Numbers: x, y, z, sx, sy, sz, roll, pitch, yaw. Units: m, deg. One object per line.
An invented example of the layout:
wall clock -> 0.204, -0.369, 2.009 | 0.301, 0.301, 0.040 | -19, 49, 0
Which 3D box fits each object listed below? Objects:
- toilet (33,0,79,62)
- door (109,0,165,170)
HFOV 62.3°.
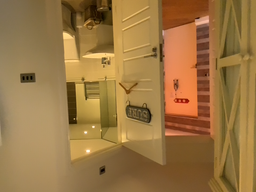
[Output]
toilet -> -1.120, -1.020, 3.400 | 0.450, 0.870, 0.640 | -2, -175, 2
door -> 0.060, -0.340, 2.360 | 0.030, 2.080, 0.900 | -5, -175, -33
